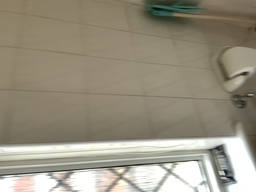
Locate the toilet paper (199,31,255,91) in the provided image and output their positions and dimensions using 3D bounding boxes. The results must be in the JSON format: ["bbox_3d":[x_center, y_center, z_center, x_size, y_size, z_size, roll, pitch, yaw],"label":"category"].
[{"bbox_3d":[0.570,-0.140,0.960,0.140,0.440,0.190,126,140,-53],"label":"toilet paper"}]
